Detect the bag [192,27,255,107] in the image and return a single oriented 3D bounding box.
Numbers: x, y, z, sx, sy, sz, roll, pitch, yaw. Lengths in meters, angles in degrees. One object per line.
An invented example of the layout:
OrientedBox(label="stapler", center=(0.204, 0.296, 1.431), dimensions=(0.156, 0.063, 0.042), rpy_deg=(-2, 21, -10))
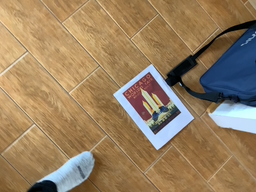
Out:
OrientedBox(label="bag", center=(0.470, -0.130, 0.780), dimensions=(0.370, 0.320, 0.110), rpy_deg=(-45, 95, -8))
